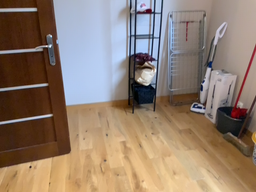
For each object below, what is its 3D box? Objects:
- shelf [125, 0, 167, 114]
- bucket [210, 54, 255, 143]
[{"bbox_3d":[0.200,-0.550,2.720,0.380,1.570,0.310,-5,25,-14],"label":"shelf"},{"bbox_3d":[1.200,0.030,2.360,0.260,0.930,0.310,-4,25,-10],"label":"bucket"}]
